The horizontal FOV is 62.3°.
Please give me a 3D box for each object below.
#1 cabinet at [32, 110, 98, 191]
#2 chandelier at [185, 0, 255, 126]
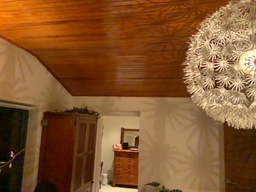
[{"bbox_3d":[-1.080,1.250,3.820,0.660,1.900,1.050,0,172,11],"label":"cabinet"},{"bbox_3d":[0.900,-0.320,1.530,0.820,1.050,0.910,1,172,6],"label":"chandelier"}]
